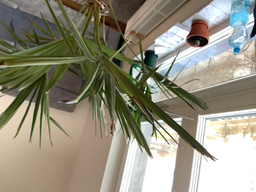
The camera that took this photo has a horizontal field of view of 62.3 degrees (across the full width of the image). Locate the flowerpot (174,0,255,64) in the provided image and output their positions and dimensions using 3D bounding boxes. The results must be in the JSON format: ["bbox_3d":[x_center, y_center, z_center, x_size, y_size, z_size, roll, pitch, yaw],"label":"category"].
[{"bbox_3d":[0.570,-0.410,1.090,0.110,0.210,0.880,20,163,-22],"label":"flowerpot"}]
